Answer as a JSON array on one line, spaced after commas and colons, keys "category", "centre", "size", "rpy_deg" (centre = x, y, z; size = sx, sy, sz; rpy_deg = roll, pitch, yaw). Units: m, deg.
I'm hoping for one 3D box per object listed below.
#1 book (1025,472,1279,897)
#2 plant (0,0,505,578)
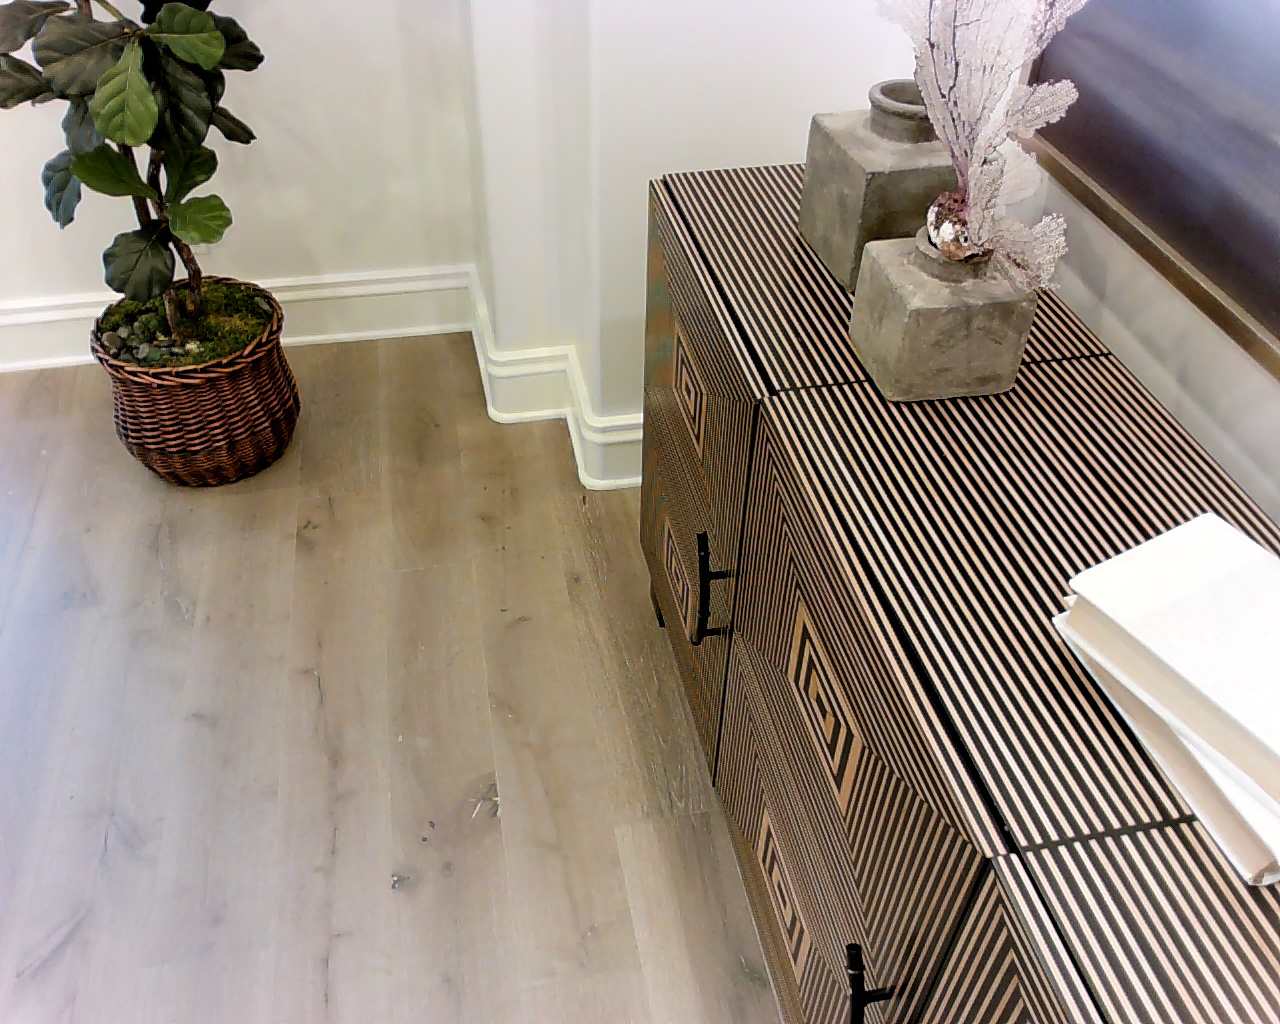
[{"category": "book", "centre": [0.530, 0.120, 0.870], "size": [0.280, 0.100, 0.290], "rpy_deg": [-17, 43, -18]}, {"category": "plant", "centre": [-0.880, -0.940, 2.030], "size": [1.000, 1.980, 0.840], "rpy_deg": [-7, 41, -8]}]
